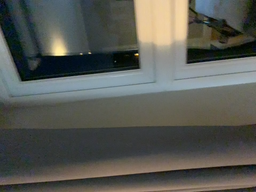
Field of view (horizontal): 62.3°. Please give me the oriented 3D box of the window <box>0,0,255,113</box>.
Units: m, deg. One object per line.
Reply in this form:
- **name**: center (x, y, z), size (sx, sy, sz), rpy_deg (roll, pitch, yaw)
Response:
- **window**: center (0.090, -0.390, 0.660), size (0.060, 1.300, 0.890), rpy_deg (-94, -2, -58)
